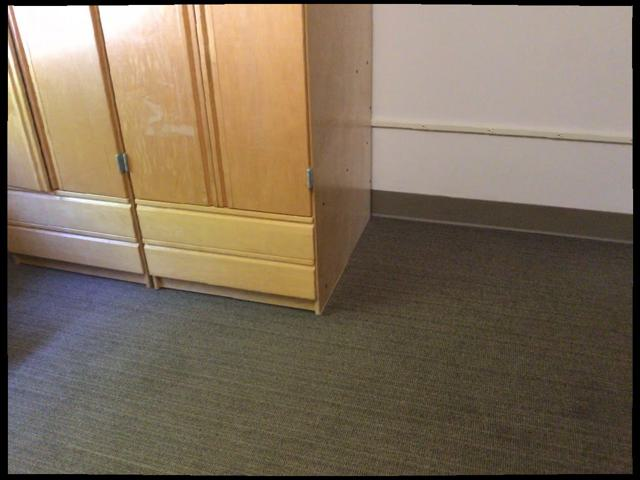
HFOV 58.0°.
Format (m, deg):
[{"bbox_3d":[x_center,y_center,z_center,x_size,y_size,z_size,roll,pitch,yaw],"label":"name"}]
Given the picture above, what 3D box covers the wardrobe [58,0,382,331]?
[{"bbox_3d":[-0.309,-0.761,2.370,0.889,1.913,0.960,9,31,20],"label":"wardrobe"}]
